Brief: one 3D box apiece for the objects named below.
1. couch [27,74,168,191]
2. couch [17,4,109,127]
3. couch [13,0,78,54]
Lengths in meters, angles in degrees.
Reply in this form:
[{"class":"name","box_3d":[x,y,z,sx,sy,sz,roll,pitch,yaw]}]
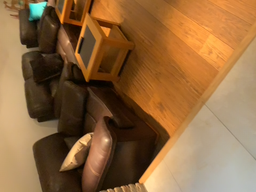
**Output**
[{"class":"couch","box_3d":[-0.470,0.470,2.370,1.300,0.980,0.960,40,120,51]},{"class":"couch","box_3d":[-1.210,-0.540,3.520,1.010,0.950,1.850,-62,41,33]},{"class":"couch","box_3d":[-1.800,-1.770,4.480,0.970,1.000,1.270,-50,48,43]}]
